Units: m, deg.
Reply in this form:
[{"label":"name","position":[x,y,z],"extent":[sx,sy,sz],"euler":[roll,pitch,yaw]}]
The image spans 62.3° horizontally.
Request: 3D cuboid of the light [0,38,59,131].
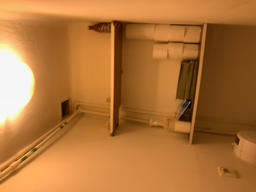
[{"label":"light","position":[-0.570,-0.040,1.080],"extent":[0.090,0.310,0.410],"euler":[-3,-28,27]}]
